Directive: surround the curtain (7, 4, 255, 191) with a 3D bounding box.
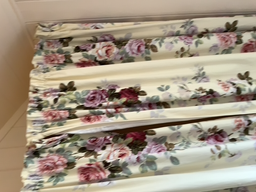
[{"bbox_3d":[0.400,0.090,0.950,0.090,1.720,1.200,100,163,-66],"label":"curtain"}]
